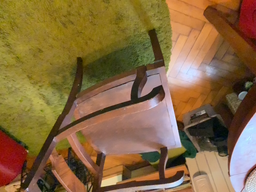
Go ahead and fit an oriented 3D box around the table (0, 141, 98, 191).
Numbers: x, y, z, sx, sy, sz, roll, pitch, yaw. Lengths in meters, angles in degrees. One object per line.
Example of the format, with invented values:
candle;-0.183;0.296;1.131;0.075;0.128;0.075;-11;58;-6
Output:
table;-0.710;0.920;1.790;0.680;0.740;0.490;-22;125;14

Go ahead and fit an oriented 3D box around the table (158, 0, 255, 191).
table;0.860;0.020;1.150;1.030;0.770;1.010;-19;125;12
